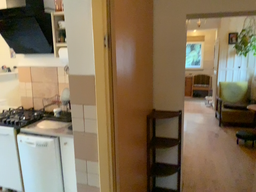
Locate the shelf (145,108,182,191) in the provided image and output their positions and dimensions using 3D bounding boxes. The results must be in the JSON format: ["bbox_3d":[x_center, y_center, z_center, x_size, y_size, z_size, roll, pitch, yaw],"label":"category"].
[{"bbox_3d":[0.370,0.660,2.220,0.310,1.000,0.310,3,12,19],"label":"shelf"}]
